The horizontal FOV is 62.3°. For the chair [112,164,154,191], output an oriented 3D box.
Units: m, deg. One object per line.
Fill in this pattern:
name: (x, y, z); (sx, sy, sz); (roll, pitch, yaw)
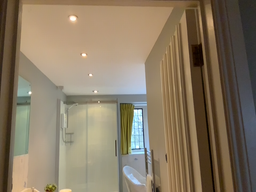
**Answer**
chair: (0.120, 1.830, 4.400); (0.660, 0.700, 0.640); (-6, -11, 23)
